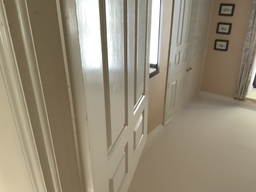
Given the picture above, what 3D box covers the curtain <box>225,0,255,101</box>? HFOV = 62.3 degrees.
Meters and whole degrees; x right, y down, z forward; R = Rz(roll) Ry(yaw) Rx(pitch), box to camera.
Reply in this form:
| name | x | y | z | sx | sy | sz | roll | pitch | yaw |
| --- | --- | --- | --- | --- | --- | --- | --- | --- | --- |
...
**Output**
| name | x | y | z | sx | sy | sz | roll | pitch | yaw |
| --- | --- | --- | --- | --- | --- | --- | --- | --- | --- |
| curtain | 1.740 | -0.930 | 3.020 | 0.240 | 2.120 | 0.130 | 17 | -149 | 31 |
